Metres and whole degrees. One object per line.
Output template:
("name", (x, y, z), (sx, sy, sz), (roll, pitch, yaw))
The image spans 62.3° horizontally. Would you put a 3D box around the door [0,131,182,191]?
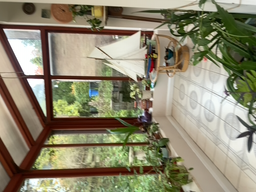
("door", (-0.380, 1.000, 2.390), (2.760, 1.830, 0.160), (-118, 29, -76))
